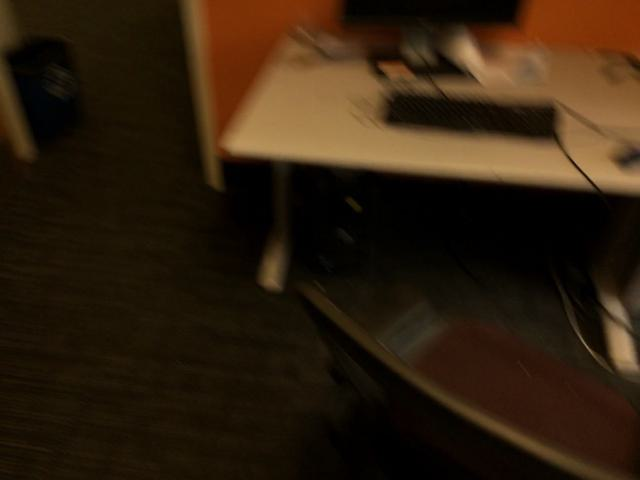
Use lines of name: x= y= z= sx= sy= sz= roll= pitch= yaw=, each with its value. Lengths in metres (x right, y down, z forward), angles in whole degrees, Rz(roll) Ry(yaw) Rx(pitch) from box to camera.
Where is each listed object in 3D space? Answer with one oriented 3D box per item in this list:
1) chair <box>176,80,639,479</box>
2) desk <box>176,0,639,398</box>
chair: x=0.270 y=0.340 z=1.090 sx=0.710 sy=0.950 sz=0.580 roll=-29 pitch=47 yaw=-30
desk: x=0.380 y=-0.190 z=1.770 sx=1.270 sy=0.830 sz=0.790 roll=7 pitch=40 yaw=9
